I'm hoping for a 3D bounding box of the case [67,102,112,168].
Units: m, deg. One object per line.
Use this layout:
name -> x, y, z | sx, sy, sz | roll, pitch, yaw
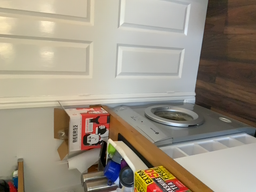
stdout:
case -> -0.270, 0.250, 1.440 | 0.200, 0.240, 0.360 | 32, 121, 59
